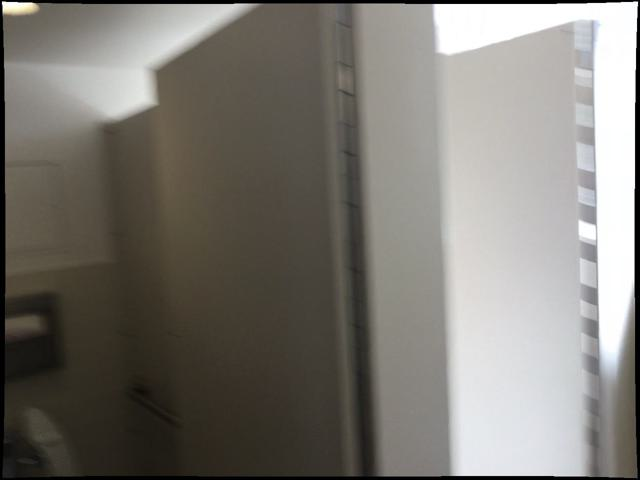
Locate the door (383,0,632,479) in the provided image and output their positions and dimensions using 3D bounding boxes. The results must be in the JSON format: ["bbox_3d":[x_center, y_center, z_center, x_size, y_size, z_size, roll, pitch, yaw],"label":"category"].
[{"bbox_3d":[0.509,0.260,1.690,0.160,1.832,0.680,-8,9,-37],"label":"door"}]

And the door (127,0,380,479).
[{"bbox_3d":[-0.190,0.400,1.370,0.070,1.792,0.890,-8,9,-37],"label":"door"}]

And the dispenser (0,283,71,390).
[{"bbox_3d":[-1.089,0.340,1.960,0.420,0.320,0.060,-8,9,-37],"label":"dispenser"}]

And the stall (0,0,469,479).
[{"bbox_3d":[-0.619,0.440,1.410,1.009,2.062,1.629,-8,9,-37],"label":"stall"}]
